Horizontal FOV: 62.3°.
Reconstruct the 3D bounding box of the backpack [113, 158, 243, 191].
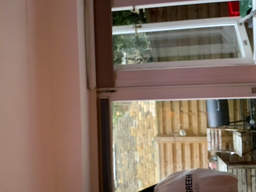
[{"bbox_3d":[0.270,0.550,1.230,0.190,0.680,0.310,-22,-70,-82],"label":"backpack"}]
